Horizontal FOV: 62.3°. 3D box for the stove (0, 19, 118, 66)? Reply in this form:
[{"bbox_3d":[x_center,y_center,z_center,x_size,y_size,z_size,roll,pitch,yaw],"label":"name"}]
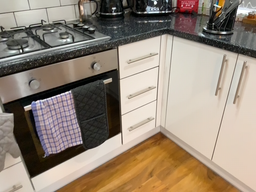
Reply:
[{"bbox_3d":[-0.440,-0.330,1.160,0.520,0.020,0.590,-23,37,-32],"label":"stove"}]
